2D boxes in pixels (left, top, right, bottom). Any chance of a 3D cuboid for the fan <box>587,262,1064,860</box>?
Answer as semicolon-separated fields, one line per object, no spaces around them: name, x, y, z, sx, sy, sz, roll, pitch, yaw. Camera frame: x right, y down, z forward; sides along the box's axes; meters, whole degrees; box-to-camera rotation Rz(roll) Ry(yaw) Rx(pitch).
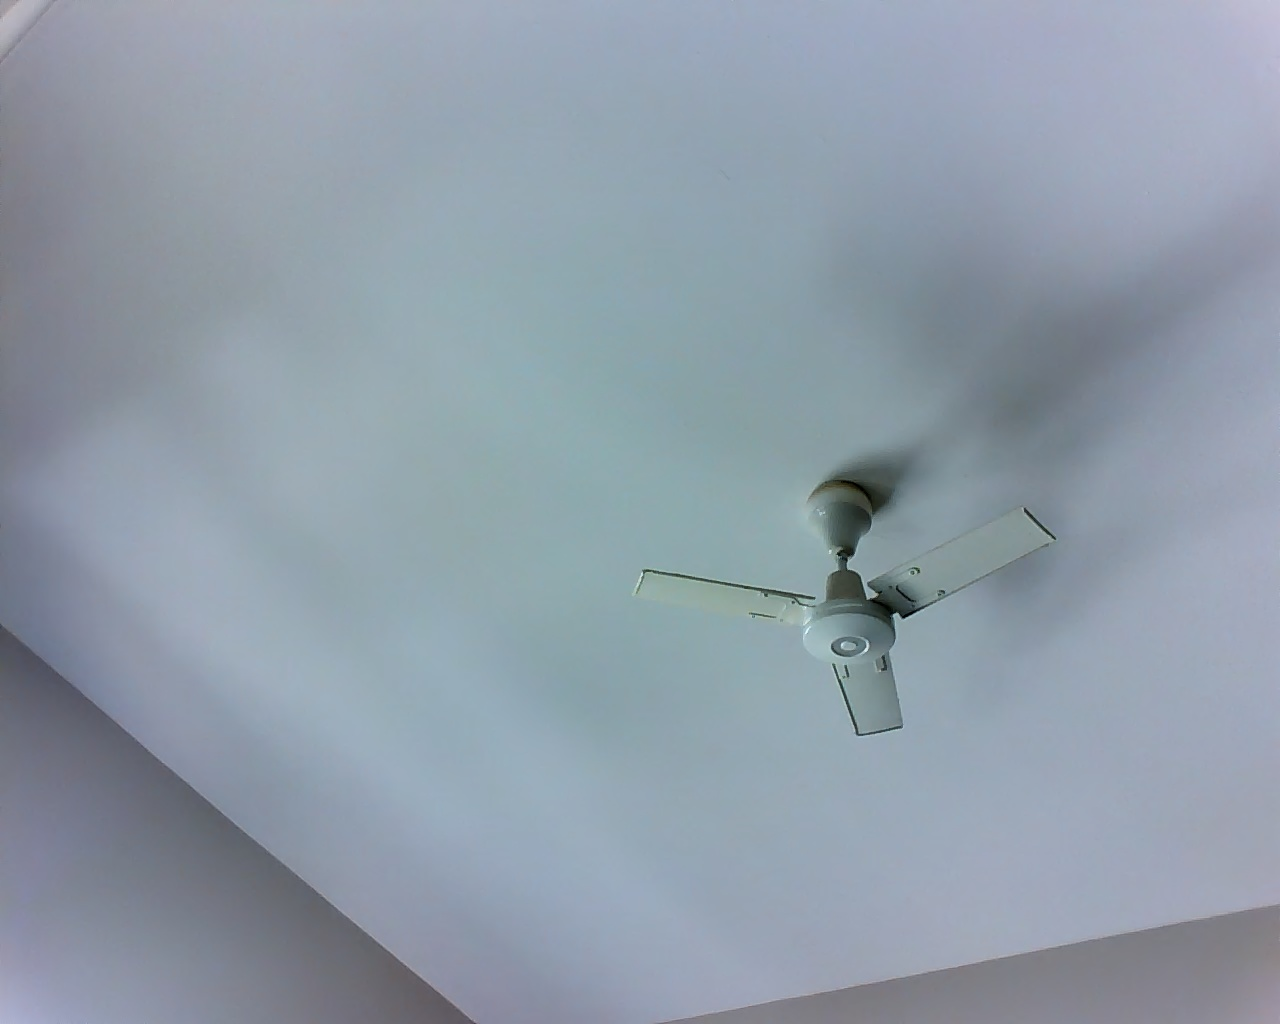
fan;0.470;0.130;2.320;0.410;0.880;0.890;-5;-37;44
